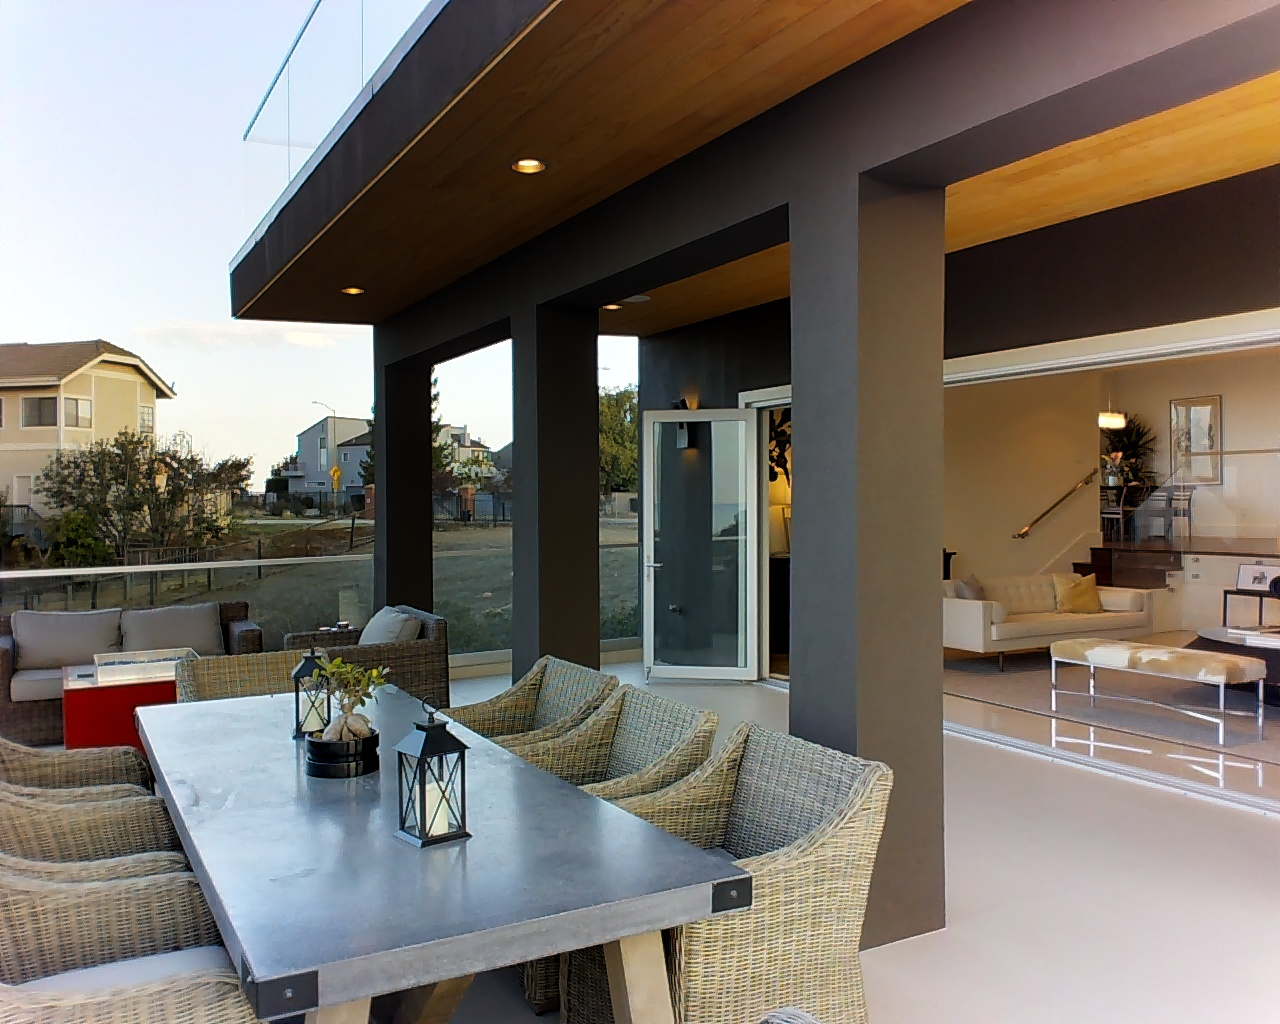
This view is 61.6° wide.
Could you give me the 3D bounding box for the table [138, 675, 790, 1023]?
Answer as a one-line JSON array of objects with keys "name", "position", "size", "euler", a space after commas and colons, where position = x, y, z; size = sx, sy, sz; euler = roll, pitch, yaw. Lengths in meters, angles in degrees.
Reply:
[{"name": "table", "position": [-0.830, 1.130, 3.280], "size": [1.090, 0.770, 2.820], "euler": [-1, 1, -29]}]
